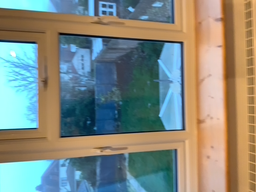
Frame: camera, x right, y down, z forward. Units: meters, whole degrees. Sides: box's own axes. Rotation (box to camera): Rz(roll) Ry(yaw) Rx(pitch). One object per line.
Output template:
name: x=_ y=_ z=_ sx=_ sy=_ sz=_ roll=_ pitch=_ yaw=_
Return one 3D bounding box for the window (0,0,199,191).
window: x=-0.130 y=-0.050 z=1.170 sx=0.080 sy=1.130 sz=1.620 roll=176 pitch=94 yaw=-73
